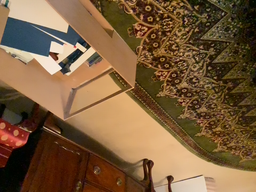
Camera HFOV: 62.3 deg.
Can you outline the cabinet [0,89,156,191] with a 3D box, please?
[{"bbox_3d":[-0.380,0.770,1.800,0.600,0.940,1.330,-26,131,30],"label":"cabinet"}]
